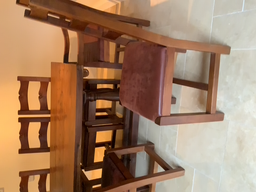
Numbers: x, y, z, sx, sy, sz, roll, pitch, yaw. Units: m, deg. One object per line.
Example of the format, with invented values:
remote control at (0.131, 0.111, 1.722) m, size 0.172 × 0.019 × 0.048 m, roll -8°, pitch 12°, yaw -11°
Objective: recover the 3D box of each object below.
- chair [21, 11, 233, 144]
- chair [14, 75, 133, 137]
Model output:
chair at (0.020, -0.090, 1.160) m, size 0.420 × 1.060 × 0.450 m, roll 18°, pitch 106°, yaw 59°
chair at (-0.560, 0.060, 2.180) m, size 0.510 × 1.070 × 0.450 m, roll 21°, pitch 109°, yaw 58°
